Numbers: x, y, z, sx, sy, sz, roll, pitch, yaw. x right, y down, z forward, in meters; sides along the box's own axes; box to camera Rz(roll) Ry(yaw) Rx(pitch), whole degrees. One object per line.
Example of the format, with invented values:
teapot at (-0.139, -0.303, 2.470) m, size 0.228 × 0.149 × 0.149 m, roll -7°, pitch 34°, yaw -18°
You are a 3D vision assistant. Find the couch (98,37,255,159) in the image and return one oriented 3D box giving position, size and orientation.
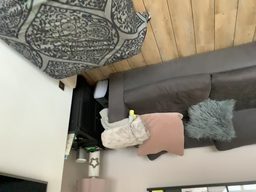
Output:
couch at (1.260, 0.040, 2.350) m, size 2.960 × 0.800 × 1.050 m, roll -10°, pitch 150°, yaw 14°
